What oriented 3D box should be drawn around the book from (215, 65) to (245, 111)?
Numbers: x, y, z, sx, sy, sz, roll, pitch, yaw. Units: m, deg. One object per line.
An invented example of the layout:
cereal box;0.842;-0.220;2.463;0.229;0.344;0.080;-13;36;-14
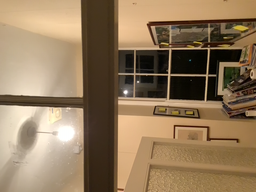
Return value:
book;1.170;-0.100;2.460;0.280;0.220;0.500;-43;-46;-77
